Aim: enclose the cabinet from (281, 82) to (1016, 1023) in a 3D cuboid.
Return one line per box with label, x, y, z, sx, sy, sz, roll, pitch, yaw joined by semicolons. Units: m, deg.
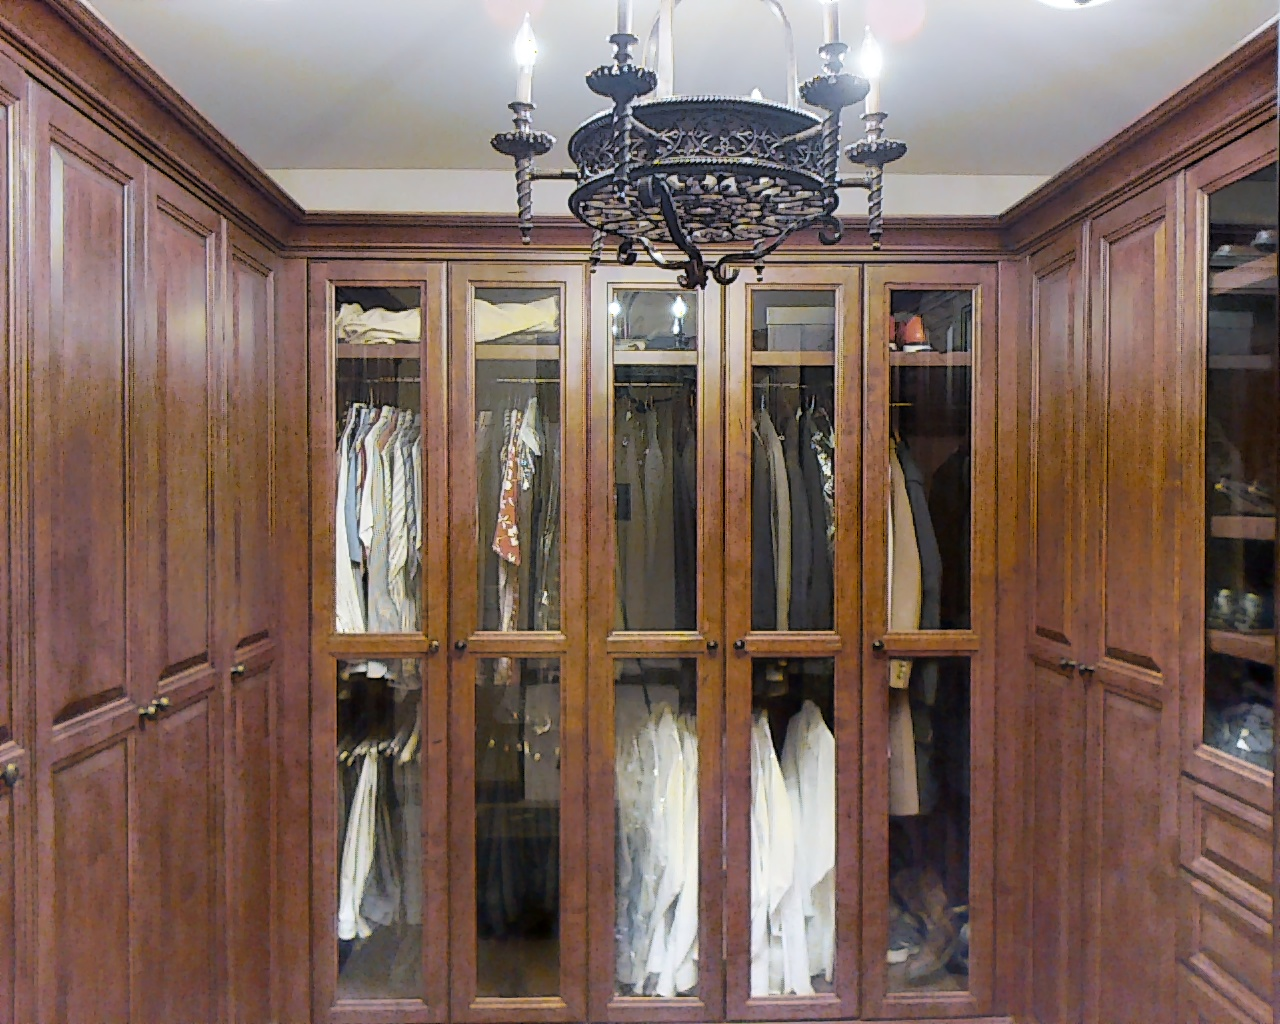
cabinet;0.280;0.440;2.900;0.390;2.390;2.470;0;0;44
